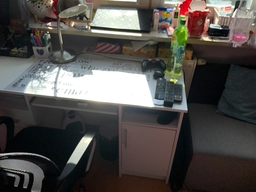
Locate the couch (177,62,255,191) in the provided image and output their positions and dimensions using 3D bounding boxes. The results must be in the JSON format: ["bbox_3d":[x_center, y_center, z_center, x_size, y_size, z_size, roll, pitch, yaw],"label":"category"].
[{"bbox_3d":[0.670,0.240,1.500,0.500,0.700,0.640,6,36,5],"label":"couch"}]
